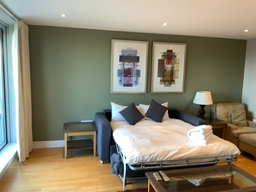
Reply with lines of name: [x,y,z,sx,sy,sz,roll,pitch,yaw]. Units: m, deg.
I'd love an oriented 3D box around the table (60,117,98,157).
table: [-0.910,0.730,3.950,0.610,0.540,0.660,2,8,-13]

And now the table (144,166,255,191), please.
table: [0.810,1.120,2.290,1.160,0.430,0.570,2,8,-13]
